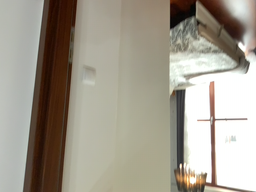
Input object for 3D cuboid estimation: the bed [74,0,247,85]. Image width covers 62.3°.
[{"bbox_3d":[0.600,-0.700,3.480,1.870,0.400,2.180,-7,167,42],"label":"bed"}]
